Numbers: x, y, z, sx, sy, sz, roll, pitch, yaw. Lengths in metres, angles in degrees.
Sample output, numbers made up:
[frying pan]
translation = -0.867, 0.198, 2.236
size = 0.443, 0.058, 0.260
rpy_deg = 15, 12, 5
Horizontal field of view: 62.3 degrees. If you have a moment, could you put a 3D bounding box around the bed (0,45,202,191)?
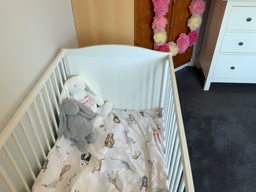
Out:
[bed]
translation = -0.130, 0.450, 1.090
size = 0.740, 0.840, 1.470
rpy_deg = 1, 39, 4
